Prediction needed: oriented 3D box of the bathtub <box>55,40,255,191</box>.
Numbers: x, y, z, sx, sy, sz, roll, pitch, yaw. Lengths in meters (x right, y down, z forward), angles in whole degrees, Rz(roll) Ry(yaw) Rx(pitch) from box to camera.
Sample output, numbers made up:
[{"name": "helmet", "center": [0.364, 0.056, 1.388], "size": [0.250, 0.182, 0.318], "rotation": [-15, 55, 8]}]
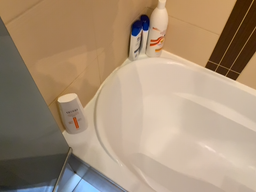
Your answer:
[{"name": "bathtub", "center": [0.480, 0.430, 0.990], "size": [1.360, 0.620, 0.670], "rotation": [29, 59, 16]}]
